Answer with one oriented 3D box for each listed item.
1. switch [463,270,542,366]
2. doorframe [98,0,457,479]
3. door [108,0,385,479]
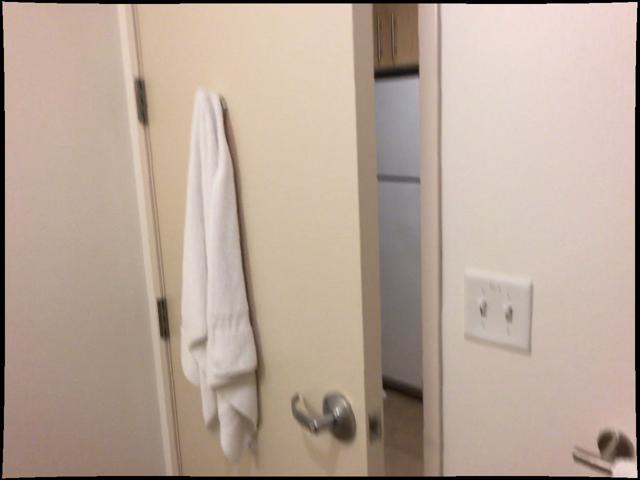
[{"bbox_3d":[0.309,0.130,0.990,0.010,0.140,0.140,-15,17,-43],"label":"switch"},{"bbox_3d":[-0.150,0.271,1.480,0.130,1.945,1.069,-15,17,-43],"label":"doorframe"},{"bbox_3d":[-0.209,0.291,1.420,0.120,1.925,0.979,-11,15,-33],"label":"door"}]
